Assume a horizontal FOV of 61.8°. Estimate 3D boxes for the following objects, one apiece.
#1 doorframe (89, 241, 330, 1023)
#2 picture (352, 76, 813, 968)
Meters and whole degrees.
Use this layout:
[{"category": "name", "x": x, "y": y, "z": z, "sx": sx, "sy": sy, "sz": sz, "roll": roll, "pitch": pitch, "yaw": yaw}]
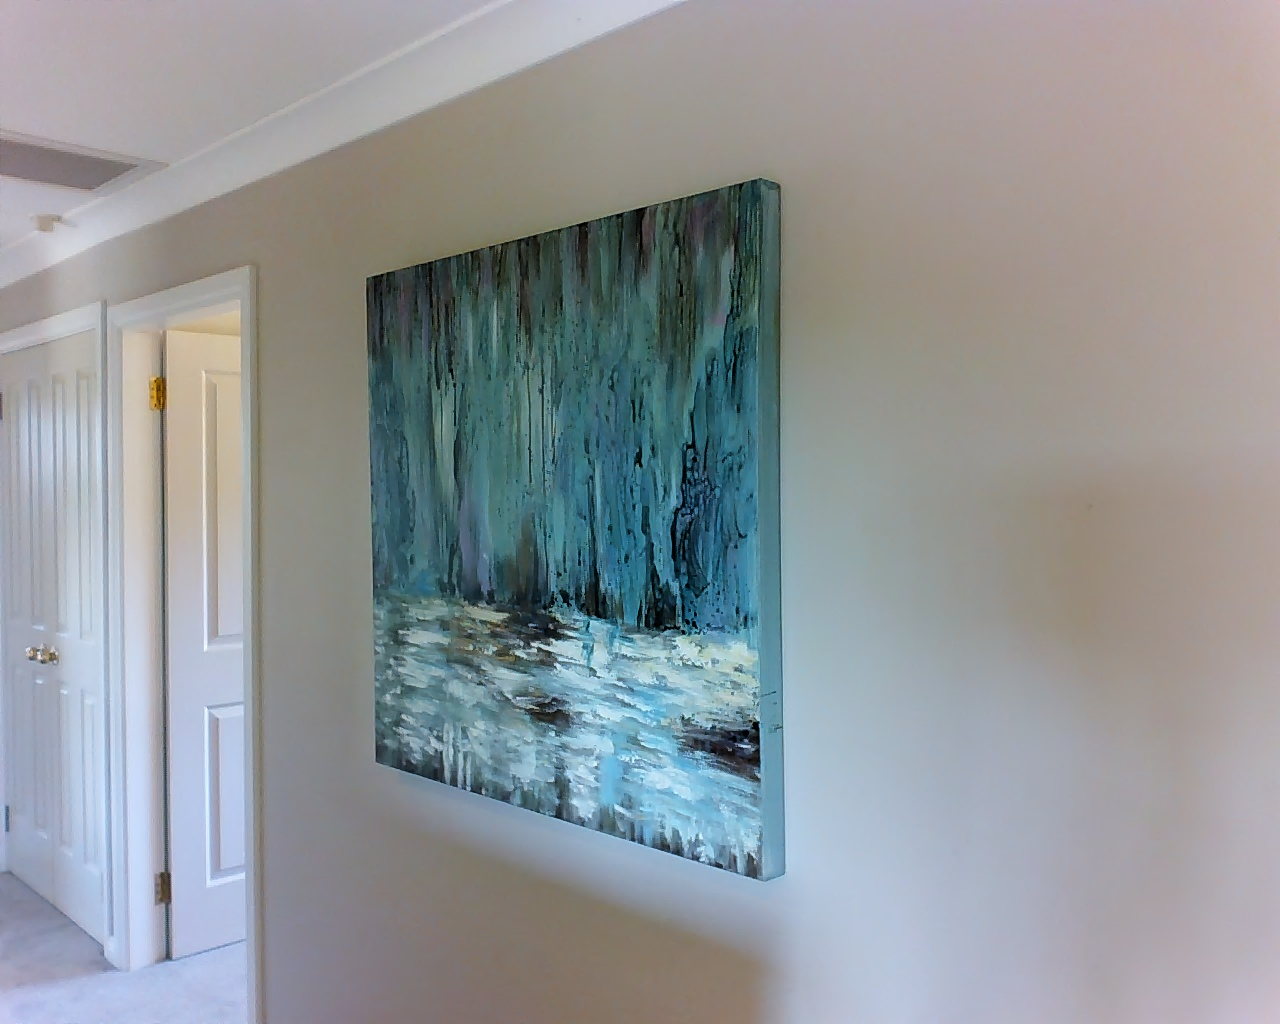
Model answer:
[{"category": "doorframe", "x": -1.250, "y": 0.390, "z": 3.030, "sx": 1.060, "sy": 2.101, "sz": 0.210, "roll": 1, "pitch": 2, "yaw": 44}, {"category": "picture", "x": -0.180, "y": 0.010, "z": 1.900, "sx": 1.110, "sy": 1.240, "sz": 0.080, "roll": 1, "pitch": 2, "yaw": 44}]
